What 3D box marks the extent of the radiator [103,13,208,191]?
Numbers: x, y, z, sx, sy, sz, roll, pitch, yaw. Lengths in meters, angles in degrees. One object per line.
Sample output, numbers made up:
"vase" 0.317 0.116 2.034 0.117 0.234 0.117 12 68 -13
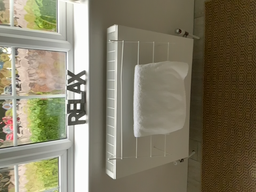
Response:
"radiator" 0.200 0.030 1.290 0.130 0.730 0.870 5 96 54
